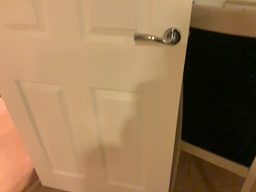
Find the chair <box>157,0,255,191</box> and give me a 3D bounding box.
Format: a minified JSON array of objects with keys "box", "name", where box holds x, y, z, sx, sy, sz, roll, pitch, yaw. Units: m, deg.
[{"box":[0.450,0.070,1.010,0.430,1.030,0.460,17,40,26],"name":"chair"}]
